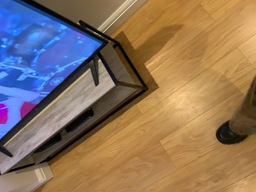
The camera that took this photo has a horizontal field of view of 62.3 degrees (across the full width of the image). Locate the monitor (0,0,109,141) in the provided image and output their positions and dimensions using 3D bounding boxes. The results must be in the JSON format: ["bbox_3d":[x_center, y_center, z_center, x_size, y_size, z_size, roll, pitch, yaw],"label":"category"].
[{"bbox_3d":[-0.640,0.030,0.890,1.070,0.640,0.060,-37,75,19],"label":"monitor"}]

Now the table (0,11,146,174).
[{"bbox_3d":[-0.460,0.030,1.400,0.990,0.420,0.460,-36,74,20],"label":"table"}]
